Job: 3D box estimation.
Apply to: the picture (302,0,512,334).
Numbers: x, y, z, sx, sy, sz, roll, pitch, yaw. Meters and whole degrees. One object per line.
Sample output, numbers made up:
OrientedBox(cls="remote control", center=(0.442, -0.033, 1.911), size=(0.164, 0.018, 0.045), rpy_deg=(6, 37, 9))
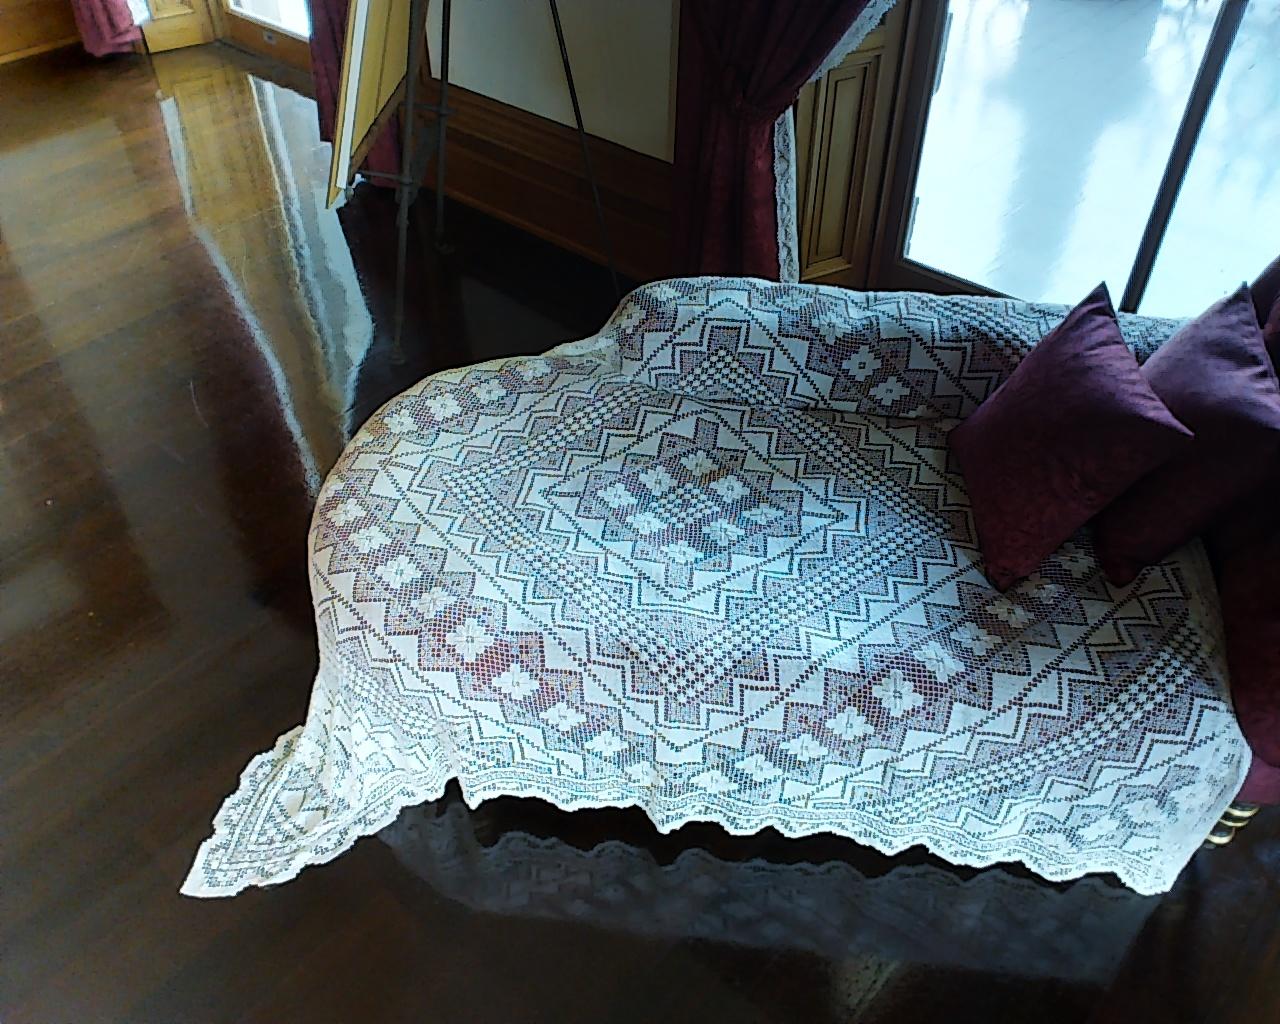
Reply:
OrientedBox(cls="picture", center=(-0.430, -1.360, 2.270), size=(0.220, 1.760, 0.830), rpy_deg=(12, 29, 0))
